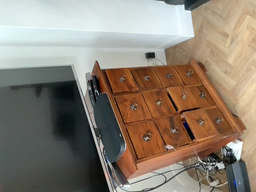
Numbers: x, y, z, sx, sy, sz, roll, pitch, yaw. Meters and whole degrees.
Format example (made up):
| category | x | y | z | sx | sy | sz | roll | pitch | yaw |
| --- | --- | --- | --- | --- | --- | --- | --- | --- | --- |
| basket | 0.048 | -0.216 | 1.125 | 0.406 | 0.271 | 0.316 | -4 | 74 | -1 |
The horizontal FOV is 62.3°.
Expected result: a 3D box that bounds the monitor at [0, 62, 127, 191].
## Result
| category | x | y | z | sx | sy | sz | roll | pitch | yaw |
| --- | --- | --- | --- | --- | --- | --- | --- | --- | --- |
| monitor | -0.420 | 0.210 | 1.080 | 0.980 | 0.620 | 0.060 | 66 | 147 | 29 |
